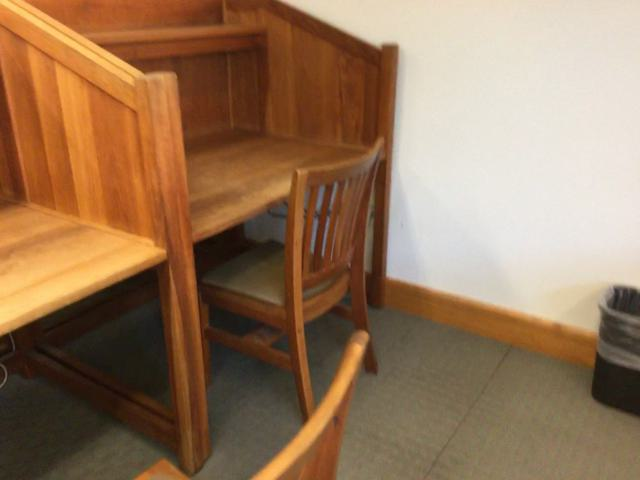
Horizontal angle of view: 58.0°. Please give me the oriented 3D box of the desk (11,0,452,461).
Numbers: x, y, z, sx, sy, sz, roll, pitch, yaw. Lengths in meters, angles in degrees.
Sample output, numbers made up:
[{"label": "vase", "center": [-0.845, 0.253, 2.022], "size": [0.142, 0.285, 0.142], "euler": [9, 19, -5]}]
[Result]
[{"label": "desk", "center": [-0.310, -0.200, 2.200], "size": [1.140, 1.300, 0.970], "euler": [16, 24, 32]}]
